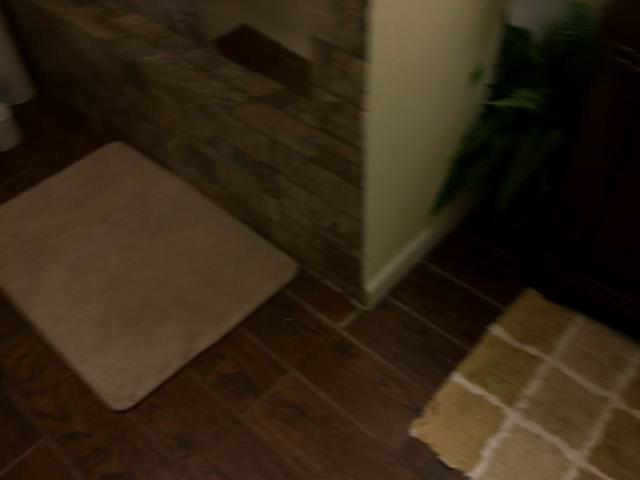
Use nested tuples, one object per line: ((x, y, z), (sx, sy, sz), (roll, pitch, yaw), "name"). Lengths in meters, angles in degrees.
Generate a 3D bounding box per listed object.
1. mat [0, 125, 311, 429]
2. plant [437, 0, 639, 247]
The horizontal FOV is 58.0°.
((-0.590, 0.010, 1.680), (0.980, 0.050, 0.610), (33, 57, 30), "mat")
((0.580, -0.340, 1.420), (0.250, 0.390, 0.590), (33, 57, 30), "plant")
